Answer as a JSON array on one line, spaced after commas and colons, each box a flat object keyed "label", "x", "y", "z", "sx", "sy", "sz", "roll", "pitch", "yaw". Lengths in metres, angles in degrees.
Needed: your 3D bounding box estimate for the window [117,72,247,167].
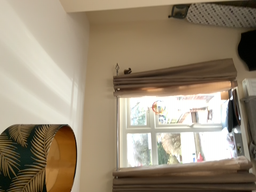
[{"label": "window", "x": 0.570, "y": 0.300, "z": 2.600, "sx": 0.410, "sy": 1.370, "sz": 1.040, "roll": 72, "pitch": -164, "yaw": -75}]
